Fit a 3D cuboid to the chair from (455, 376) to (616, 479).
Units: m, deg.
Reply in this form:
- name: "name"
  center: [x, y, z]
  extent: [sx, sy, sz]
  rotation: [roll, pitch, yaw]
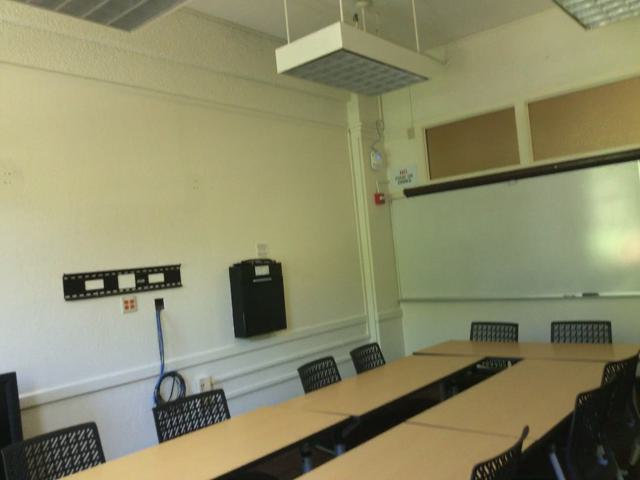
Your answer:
- name: "chair"
  center: [0.980, 1.060, 2.550]
  extent: [0.460, 0.750, 0.620]
  rotation: [-6, -2, 38]

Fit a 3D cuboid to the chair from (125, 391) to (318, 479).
- name: "chair"
  center: [-0.420, 1.180, 2.620]
  extent: [0.540, 0.790, 0.640]
  rotation: [-6, -2, 42]

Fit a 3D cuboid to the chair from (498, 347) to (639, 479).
- name: "chair"
  center: [1.340, 1.010, 3.060]
  extent: [0.490, 0.750, 0.650]
  rotation: [-6, -2, 38]

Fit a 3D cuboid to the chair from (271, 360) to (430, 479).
- name: "chair"
  center: [0.180, 1.130, 3.250]
  extent: [0.630, 0.770, 0.560]
  rotation: [-6, -2, 38]
